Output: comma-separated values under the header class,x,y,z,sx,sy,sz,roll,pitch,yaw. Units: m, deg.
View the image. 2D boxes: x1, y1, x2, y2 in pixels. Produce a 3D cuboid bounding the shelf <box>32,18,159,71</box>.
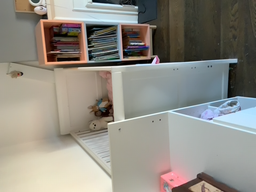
class,x,y,z,sx,sy,sz,roll,pitch,yaw
shelf,-0.280,-0.500,2.110,0.380,1.160,0.410,14,109,59
